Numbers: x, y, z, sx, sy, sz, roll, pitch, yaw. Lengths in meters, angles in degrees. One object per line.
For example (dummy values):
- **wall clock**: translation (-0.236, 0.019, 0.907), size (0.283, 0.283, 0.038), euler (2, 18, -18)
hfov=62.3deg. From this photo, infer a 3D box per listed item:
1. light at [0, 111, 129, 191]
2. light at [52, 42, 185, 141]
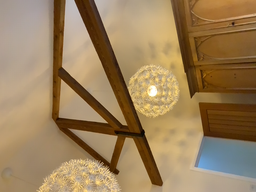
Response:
- **light**: translation (-1.040, 1.190, 2.640), size (0.980, 0.850, 2.020), euler (41, 138, -6)
- **light**: translation (-0.170, -0.020, 4.030), size (2.080, 1.380, 1.090), euler (1, 166, 32)
